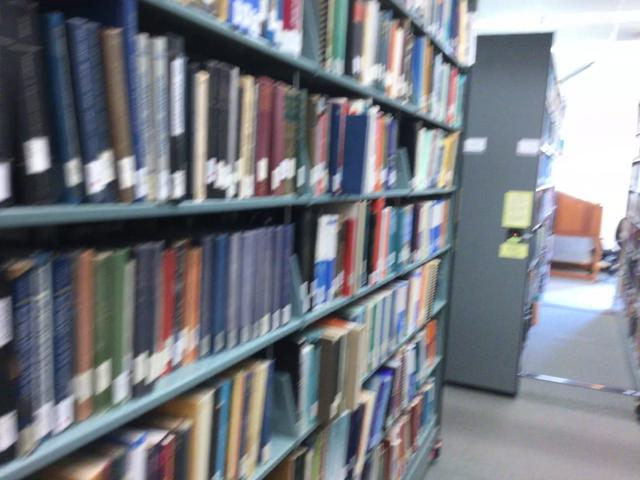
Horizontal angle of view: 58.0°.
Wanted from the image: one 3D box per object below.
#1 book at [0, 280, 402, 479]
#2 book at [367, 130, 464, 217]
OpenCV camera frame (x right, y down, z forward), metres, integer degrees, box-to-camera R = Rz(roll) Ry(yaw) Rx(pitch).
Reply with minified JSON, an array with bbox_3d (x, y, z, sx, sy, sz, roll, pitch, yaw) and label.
[{"bbox_3d":[-0.120,0.340,1.500,0.300,0.240,1.790,4,4,19],"label":"book"},{"bbox_3d":[0.460,-0.280,2.620,0.260,0.330,0.810,4,4,20],"label":"book"}]
